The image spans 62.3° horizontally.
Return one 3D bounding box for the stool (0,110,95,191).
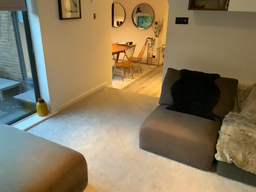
[{"bbox_3d":[-1.050,0.590,1.820,1.260,0.390,0.830,12,25,23],"label":"stool"}]
